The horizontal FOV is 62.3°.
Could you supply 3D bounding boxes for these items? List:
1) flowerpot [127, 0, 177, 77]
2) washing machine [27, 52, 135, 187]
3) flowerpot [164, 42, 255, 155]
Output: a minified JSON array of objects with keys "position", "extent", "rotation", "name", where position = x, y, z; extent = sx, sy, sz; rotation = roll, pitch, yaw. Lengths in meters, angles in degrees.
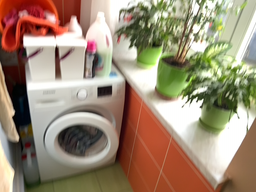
[{"position":[0.160,-0.420,1.510],"extent":[0.250,0.410,0.360],"rotation":[10,33,1],"name":"flowerpot"},{"position":[-0.390,0.160,1.670],"extent":[0.620,0.830,0.520],"rotation":[-7,36,-23],"name":"washing machine"},{"position":[0.470,-0.020,1.010],"extent":[0.420,0.340,0.320],"rotation":[-14,39,-31],"name":"flowerpot"}]
